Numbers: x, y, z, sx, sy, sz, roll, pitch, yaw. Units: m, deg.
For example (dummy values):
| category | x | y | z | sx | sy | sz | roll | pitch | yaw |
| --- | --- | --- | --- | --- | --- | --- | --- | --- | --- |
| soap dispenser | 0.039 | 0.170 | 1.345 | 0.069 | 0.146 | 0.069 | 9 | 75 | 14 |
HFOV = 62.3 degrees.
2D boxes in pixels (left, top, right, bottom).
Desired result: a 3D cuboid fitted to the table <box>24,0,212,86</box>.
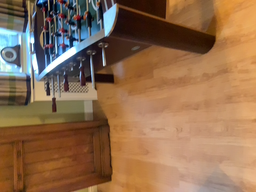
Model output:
| category | x | y | z | sx | sy | sz | roll | pitch | yaw |
| --- | --- | --- | --- | --- | --- | --- | --- | --- | --- |
| table | -0.280 | -0.670 | 1.910 | 1.640 | 0.840 | 0.860 | -12 | 81 | 51 |
